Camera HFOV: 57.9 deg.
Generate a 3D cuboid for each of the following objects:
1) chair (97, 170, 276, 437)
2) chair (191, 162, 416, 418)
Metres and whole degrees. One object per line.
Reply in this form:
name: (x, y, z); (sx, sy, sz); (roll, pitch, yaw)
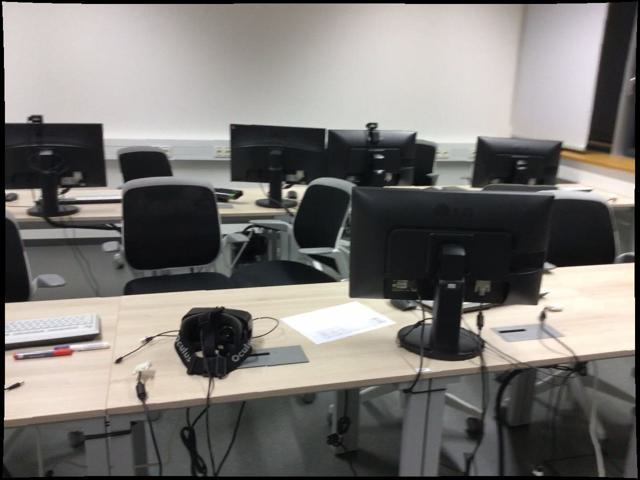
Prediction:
chair: (-0.619, 0.220, 2.660); (0.639, 0.911, 0.780); (-6, 19, -17)
chair: (-0.100, 0.160, 2.800); (0.660, 0.881, 0.850); (-14, 23, -36)
